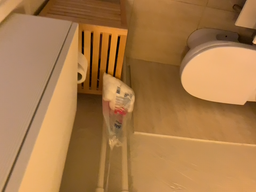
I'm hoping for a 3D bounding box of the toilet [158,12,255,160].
[{"bbox_3d":[0.600,-0.090,1.240,0.650,0.790,0.390,7,132,-9],"label":"toilet"}]
